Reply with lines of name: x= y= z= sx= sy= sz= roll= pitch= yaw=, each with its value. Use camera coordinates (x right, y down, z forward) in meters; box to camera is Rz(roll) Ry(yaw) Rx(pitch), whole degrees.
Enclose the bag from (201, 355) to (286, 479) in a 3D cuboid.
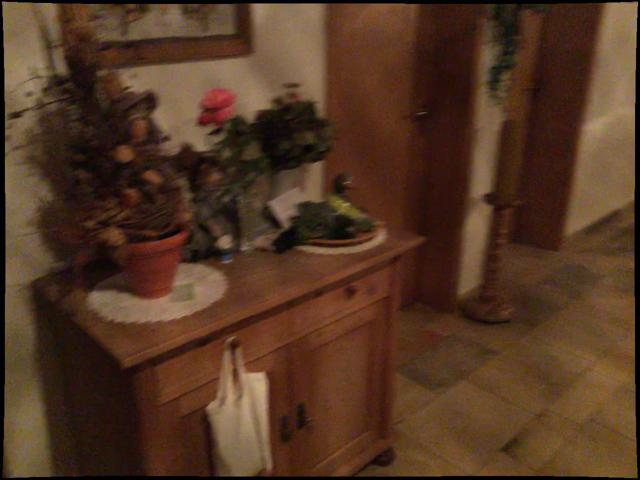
bag: x=-0.190 y=0.490 z=1.480 sx=0.180 sy=0.340 sz=0.080 roll=-20 pitch=29 yaw=-37
